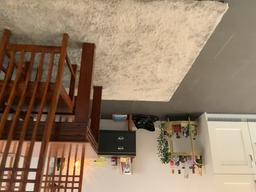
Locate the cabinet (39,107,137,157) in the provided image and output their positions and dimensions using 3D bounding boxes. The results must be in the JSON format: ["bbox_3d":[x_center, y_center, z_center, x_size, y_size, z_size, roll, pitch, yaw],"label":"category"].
[{"bbox_3d":[-0.550,0.570,3.250,1.340,0.650,0.470,2,159,-3],"label":"cabinet"}]

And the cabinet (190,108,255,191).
[{"bbox_3d":[1.390,1.280,3.030,0.620,2.110,0.630,2,159,-3],"label":"cabinet"}]
